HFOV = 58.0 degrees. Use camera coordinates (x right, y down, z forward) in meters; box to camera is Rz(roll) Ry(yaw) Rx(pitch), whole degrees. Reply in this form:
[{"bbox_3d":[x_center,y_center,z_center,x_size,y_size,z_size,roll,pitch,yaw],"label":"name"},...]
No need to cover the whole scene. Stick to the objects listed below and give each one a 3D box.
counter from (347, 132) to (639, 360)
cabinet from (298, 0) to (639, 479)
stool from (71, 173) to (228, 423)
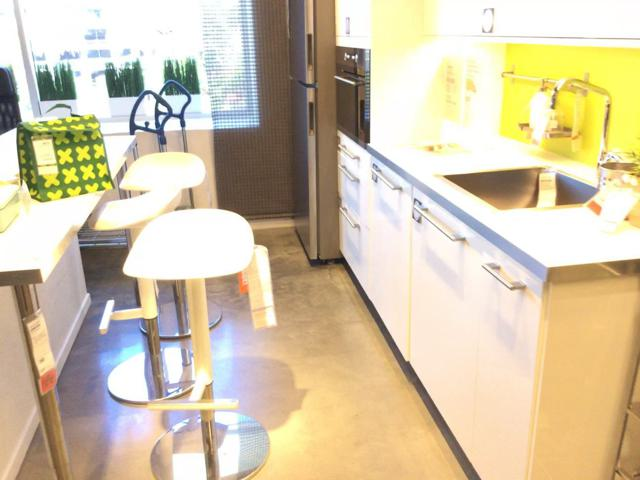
[{"bbox_3d":[0.710,-0.120,1.770,0.710,0.170,1.980,-8,17,-13],"label":"counter"},{"bbox_3d":[0.520,-0.210,2.320,0.620,1.640,2.330,-8,17,-13],"label":"cabinet"},{"bbox_3d":[-0.680,0.210,2.410,0.450,0.870,0.480,-8,17,-13],"label":"stool"}]
